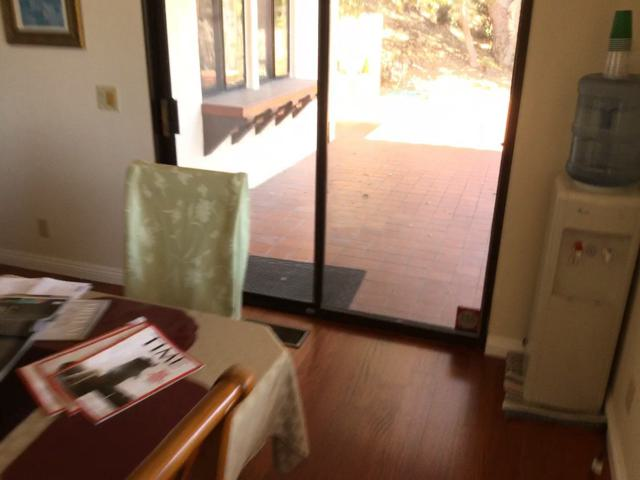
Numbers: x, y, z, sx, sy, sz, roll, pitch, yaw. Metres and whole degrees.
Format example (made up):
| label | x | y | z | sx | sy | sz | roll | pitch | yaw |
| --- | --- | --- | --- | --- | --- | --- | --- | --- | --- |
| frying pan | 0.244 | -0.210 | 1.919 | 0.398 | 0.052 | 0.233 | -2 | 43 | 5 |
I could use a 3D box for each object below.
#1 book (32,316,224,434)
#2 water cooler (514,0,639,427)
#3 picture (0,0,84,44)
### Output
| label | x | y | z | sx | sy | sz | roll | pitch | yaw |
| --- | --- | --- | --- | --- | --- | --- | --- | --- | --- |
| book | -0.420 | 0.280 | 1.280 | 0.270 | 0.040 | 0.310 | 21 | 26 | 39 |
| water cooler | 1.060 | -0.080 | 2.210 | 0.350 | 1.550 | 0.370 | 9 | 21 | 15 |
| picture | -1.450 | -1.220 | 2.900 | 0.510 | 0.420 | 0.100 | 9 | 21 | 15 |
